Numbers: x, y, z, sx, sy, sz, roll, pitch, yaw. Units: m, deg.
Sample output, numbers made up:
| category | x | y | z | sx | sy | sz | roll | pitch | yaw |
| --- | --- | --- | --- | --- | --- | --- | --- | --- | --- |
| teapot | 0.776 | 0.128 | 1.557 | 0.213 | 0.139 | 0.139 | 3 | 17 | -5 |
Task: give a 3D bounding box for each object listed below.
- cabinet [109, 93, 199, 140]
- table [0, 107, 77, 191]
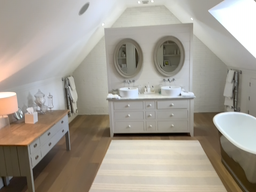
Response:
| category | x | y | z | sx | sy | sz | roll | pitch | yaw |
| --- | --- | --- | --- | --- | --- | --- | --- | --- | --- |
| cabinet | 0.540 | 0.430 | 4.590 | 1.780 | 0.870 | 0.580 | -1 | 11 | 7 |
| table | -1.390 | 0.760 | 3.320 | 0.650 | 0.790 | 1.540 | -1 | 11 | 5 |
